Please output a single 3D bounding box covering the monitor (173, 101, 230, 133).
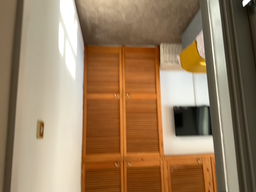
[{"bbox_3d":[1.290,0.360,3.700,0.980,0.530,0.050,-1,170,-8],"label":"monitor"}]

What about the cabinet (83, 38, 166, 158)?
[{"bbox_3d":[-0.090,0.000,3.490,1.260,1.870,0.270,-1,170,-8],"label":"cabinet"}]
